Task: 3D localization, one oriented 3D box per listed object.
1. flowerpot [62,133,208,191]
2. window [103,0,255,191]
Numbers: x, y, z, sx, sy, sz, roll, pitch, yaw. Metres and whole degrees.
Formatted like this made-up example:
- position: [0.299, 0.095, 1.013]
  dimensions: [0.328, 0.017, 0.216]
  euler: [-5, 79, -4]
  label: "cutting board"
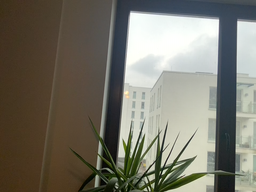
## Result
- position: [-0.020, 0.980, 1.150]
  dimensions: [0.610, 1.470, 0.540]
  euler: [10, -9, -34]
  label: "flowerpot"
- position: [0.810, 0.080, 1.620]
  dimensions: [1.850, 1.830, 0.250]
  euler: [5, -7, 1]
  label: "window"
